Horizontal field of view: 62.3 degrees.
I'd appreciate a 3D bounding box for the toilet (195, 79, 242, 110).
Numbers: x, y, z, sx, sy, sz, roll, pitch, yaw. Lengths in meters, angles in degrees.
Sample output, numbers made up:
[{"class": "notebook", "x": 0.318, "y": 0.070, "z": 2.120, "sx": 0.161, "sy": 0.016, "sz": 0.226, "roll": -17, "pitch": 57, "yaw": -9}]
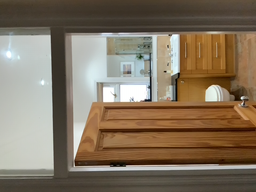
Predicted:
[{"class": "toilet", "x": 1.340, "y": -0.030, "z": 3.200, "sx": 0.550, "sy": 0.460, "sz": 0.430, "roll": -122, "pitch": 31, "yaw": -88}]
